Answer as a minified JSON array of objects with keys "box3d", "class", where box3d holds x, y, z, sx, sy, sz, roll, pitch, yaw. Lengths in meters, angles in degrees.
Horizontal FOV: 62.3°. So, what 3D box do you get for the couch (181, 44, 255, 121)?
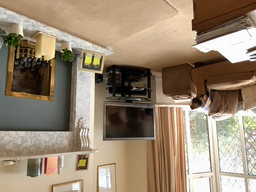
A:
[{"box3d":[1.750,-0.130,2.960,1.660,0.850,0.990,-9,167,40],"class":"couch"}]
